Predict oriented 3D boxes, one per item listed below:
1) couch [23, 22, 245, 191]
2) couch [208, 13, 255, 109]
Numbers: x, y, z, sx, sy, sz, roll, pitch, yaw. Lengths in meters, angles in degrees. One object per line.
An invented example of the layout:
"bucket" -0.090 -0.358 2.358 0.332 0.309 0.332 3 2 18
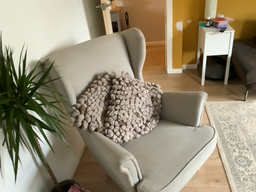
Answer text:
"couch" 0.020 0.150 1.470 0.800 1.000 1.000 -30 39 -32
"couch" 1.580 -0.450 2.380 1.050 0.740 0.960 -2 32 8
